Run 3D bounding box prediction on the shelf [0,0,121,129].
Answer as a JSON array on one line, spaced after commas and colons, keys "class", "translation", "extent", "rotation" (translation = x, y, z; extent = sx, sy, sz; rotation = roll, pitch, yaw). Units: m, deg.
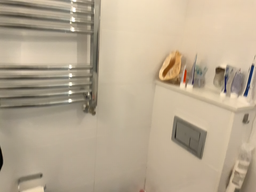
[{"class": "shelf", "translation": [-0.330, -0.420, 0.920], "extent": [0.620, 1.110, 0.110], "rotation": [-5, 18, -30]}]
